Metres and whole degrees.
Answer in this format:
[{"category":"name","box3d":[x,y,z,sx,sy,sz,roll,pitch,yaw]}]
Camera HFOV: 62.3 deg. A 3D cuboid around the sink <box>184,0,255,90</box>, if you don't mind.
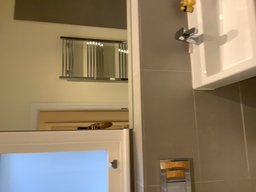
[{"category":"sink","box3d":[0.470,-0.580,1.070,0.470,0.160,1.030,144,127,-74]}]
